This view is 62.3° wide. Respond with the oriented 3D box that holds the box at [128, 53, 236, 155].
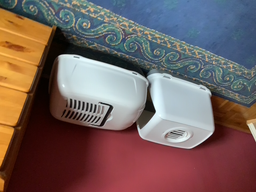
[{"bbox_3d":[0.310,0.070,1.400,0.500,0.420,0.380,16,136,-19],"label":"box"}]
